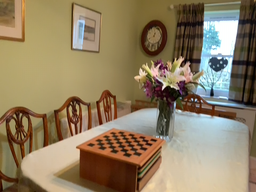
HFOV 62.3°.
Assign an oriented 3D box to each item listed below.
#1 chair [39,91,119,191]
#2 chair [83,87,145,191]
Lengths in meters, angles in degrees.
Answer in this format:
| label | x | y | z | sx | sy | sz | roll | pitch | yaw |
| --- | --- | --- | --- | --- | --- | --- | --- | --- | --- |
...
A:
| label | x | y | z | sx | sy | sz | roll | pitch | yaw |
| --- | --- | --- | --- | --- | --- | --- | --- | --- | --- |
| chair | -0.410 | 0.490 | 1.820 | 0.440 | 0.980 | 0.470 | 9 | 11 | 29 |
| chair | -0.140 | 0.430 | 2.290 | 0.490 | 0.970 | 0.480 | 6 | 10 | 15 |
